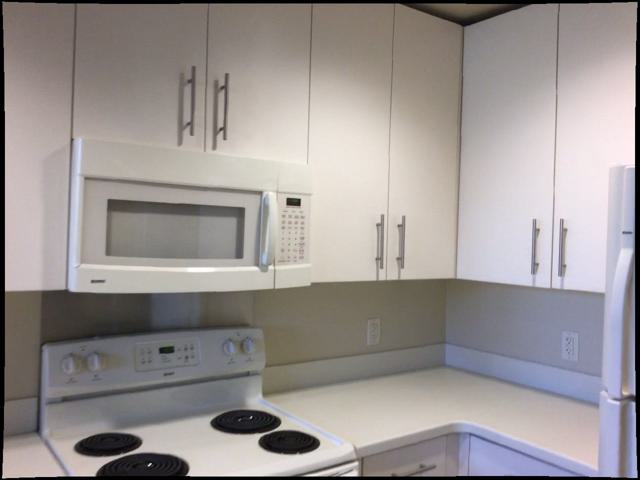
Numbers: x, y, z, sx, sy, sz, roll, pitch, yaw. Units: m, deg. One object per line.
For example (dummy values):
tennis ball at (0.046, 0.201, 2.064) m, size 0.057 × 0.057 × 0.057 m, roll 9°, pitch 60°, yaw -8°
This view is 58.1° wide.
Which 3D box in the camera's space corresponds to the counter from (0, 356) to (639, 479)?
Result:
counter at (0.040, 0.672, 1.130) m, size 3.015 × 0.090 × 2.188 m, roll 0°, pitch 2°, yaw -35°

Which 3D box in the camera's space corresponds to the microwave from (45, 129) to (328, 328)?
microwave at (-0.359, -0.030, 1.750) m, size 0.849 × 0.501 × 0.120 m, roll 0°, pitch 2°, yaw -35°
